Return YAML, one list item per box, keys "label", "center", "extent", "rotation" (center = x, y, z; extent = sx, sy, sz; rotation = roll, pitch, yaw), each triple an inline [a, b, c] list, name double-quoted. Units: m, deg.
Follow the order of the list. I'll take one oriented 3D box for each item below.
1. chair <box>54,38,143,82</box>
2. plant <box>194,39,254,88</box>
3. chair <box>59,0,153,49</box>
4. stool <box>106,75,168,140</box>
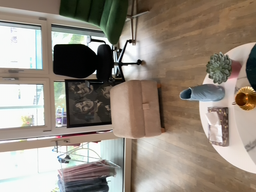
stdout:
- label: "chair"
  center: [-0.410, -0.420, 2.820]
  extent: [0.690, 0.980, 0.380]
  rotation: [-6, 85, 62]
- label: "plant"
  center: [0.510, -0.170, 1.150]
  extent: [0.170, 0.160, 0.190]
  rotation: [-63, 38, 42]
- label: "chair"
  center: [-0.320, -1.090, 2.710]
  extent: [0.780, 0.910, 0.530]
  rotation: [64, 143, 39]
- label: "stool"
  center: [0.080, 0.140, 2.480]
  extent: [0.590, 0.440, 0.650]
  rotation: [-15, 78, 61]
